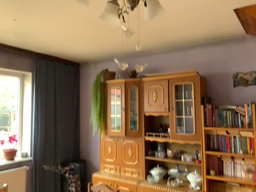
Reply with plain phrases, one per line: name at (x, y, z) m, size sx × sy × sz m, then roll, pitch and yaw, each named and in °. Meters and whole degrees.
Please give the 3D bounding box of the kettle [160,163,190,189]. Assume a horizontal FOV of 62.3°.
kettle at (0.680, 1.140, 3.070) m, size 0.310 × 0.230 × 0.360 m, roll -3°, pitch -5°, yaw 34°

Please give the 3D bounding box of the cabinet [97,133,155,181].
cabinet at (-0.040, 0.960, 3.490) m, size 0.840 × 0.600 × 0.440 m, roll -3°, pitch -5°, yaw 34°

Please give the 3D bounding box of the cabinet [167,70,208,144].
cabinet at (0.830, 0.150, 2.960) m, size 0.420 × 0.930 × 0.410 m, roll -3°, pitch -5°, yaw 34°

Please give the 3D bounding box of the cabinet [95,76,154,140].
cabinet at (-0.070, 0.200, 3.510) m, size 0.840 × 0.930 × 0.500 m, roll -3°, pitch -5°, yaw 34°

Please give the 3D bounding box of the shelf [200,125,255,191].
shelf at (1.290, 1.080, 2.630) m, size 0.630 × 1.390 × 0.340 m, roll -3°, pitch -5°, yaw 34°
